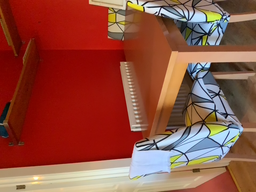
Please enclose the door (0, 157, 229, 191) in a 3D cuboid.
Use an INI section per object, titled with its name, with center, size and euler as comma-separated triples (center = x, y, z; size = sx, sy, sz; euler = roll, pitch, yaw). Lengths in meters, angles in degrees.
[door]
center = -0.150, 0.840, 1.980
size = 0.820, 1.970, 0.050
euler = 100, 164, -51
